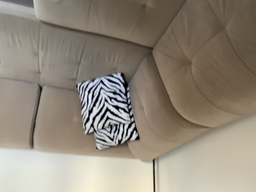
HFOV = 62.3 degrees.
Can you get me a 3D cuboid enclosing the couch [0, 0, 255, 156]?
[{"bbox_3d":[0.130,-0.440,0.920,1.060,0.850,2.590,9,153,-14],"label":"couch"}]
